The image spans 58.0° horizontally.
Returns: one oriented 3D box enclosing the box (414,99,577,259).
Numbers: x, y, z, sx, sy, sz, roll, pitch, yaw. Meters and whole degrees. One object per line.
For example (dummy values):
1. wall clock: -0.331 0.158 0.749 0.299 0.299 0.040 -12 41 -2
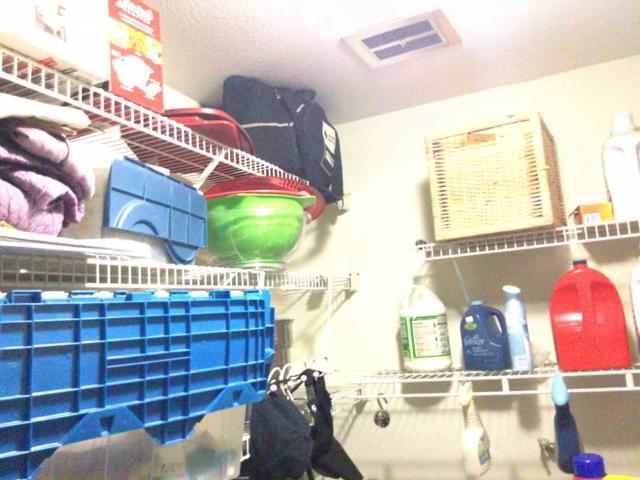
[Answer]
1. box: 0.520 -0.150 1.690 0.370 0.340 0.340 -9 -10 24
